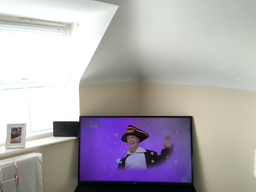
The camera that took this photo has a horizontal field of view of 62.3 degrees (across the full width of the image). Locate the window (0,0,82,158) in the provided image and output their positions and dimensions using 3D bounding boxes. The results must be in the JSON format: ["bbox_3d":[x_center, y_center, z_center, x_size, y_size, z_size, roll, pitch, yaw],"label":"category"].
[{"bbox_3d":[-1.270,-0.110,1.680,1.880,1.320,0.110,-7,10,-38],"label":"window"}]
